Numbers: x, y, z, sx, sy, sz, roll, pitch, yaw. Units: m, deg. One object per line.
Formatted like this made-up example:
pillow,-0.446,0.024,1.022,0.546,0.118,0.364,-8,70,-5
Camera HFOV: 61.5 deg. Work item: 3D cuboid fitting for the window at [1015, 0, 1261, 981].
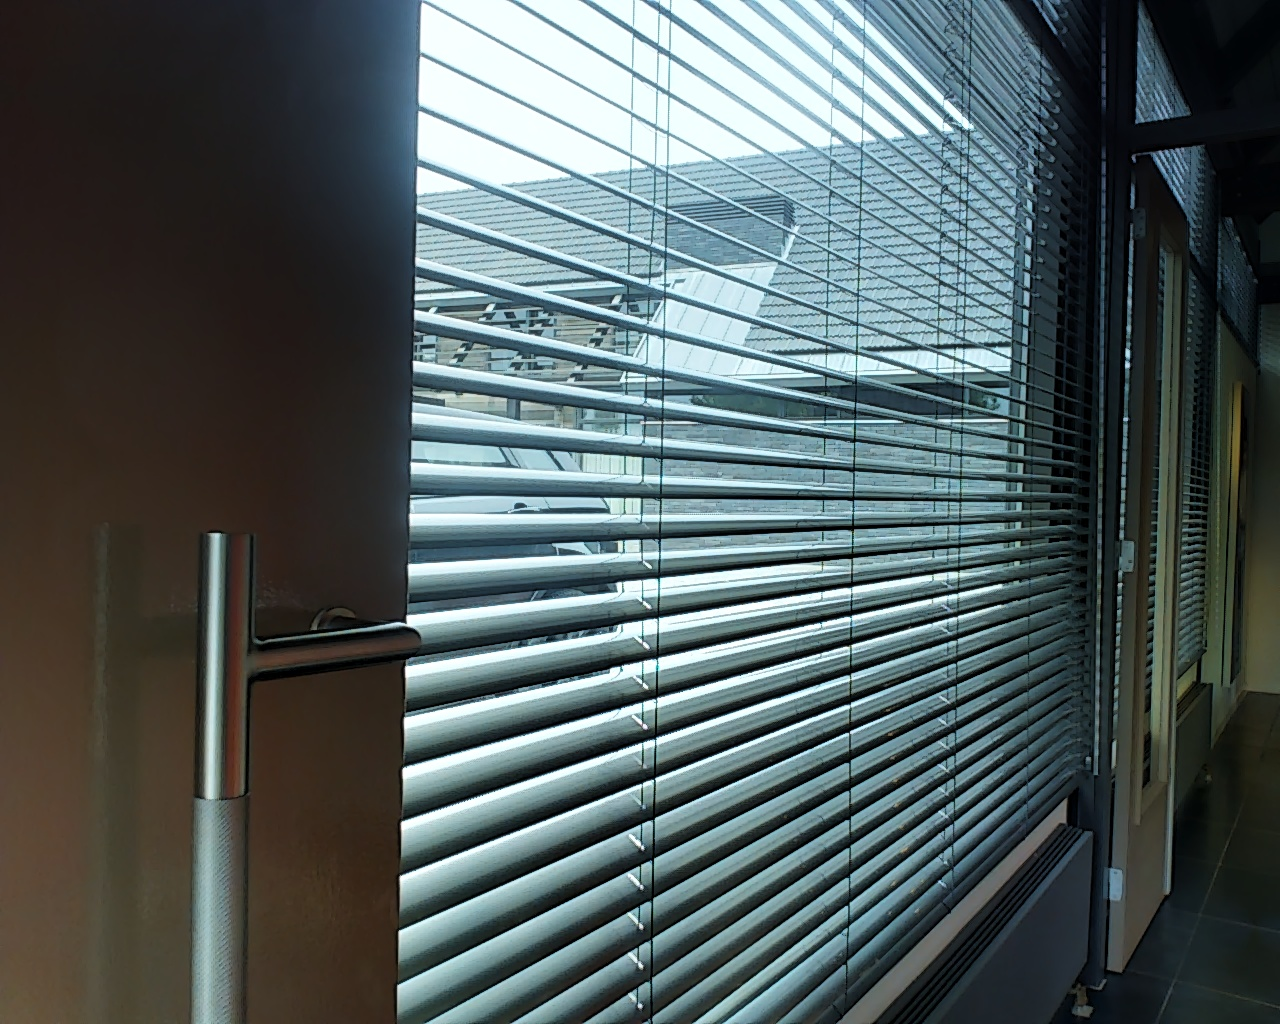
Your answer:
window,2.160,-0.390,4.370,0.310,3.381,3.180,2,1,34
